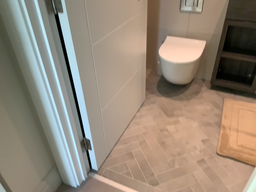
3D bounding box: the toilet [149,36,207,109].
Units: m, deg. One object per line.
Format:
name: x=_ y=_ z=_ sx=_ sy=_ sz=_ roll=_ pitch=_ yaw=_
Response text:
toilet: x=0.470 y=-0.240 z=1.990 sx=0.380 sy=0.430 sz=0.500 roll=14 pitch=39 yaw=20
